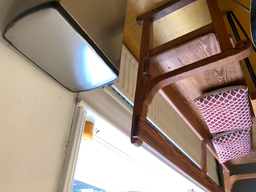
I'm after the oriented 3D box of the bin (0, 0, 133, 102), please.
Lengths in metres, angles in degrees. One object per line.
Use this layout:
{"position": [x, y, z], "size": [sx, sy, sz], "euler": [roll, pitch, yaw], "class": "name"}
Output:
{"position": [-0.210, -0.400, 0.980], "size": [0.290, 0.680, 0.440], "euler": [-17, 140, 24], "class": "bin"}
